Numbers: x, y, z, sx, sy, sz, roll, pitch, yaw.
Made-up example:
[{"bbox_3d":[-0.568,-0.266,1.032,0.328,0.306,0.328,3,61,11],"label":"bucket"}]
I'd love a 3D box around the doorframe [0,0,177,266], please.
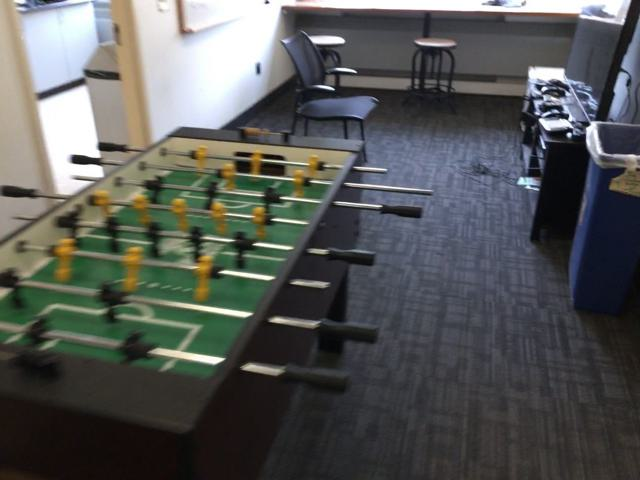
[{"bbox_3d":[-1.230,-0.990,2.820,0.440,1.990,0.950,4,28,11],"label":"doorframe"}]
